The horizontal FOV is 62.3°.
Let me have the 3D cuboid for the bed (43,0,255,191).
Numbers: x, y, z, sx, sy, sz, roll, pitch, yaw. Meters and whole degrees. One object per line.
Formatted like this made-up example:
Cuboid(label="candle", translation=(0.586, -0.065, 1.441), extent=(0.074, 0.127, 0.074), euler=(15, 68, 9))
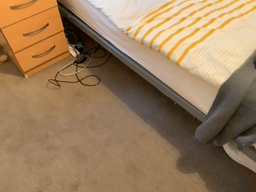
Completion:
Cuboid(label="bed", translation=(0.450, -0.590, 1.560), extent=(1.320, 0.570, 2.100), euler=(-34, 59, -24))
